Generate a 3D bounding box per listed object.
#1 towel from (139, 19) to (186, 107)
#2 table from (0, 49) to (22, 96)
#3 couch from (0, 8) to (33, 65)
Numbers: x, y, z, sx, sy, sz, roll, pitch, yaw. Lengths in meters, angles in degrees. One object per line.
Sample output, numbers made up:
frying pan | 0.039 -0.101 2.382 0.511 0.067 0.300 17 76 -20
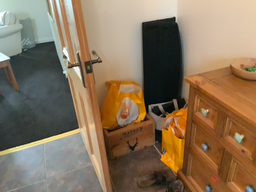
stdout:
towel | 0.310 -0.290 1.910 0.350 0.710 0.170 -13 28 -17
table | -1.790 -0.330 2.990 0.400 0.440 0.480 -17 36 -16
couch | -2.590 -1.170 4.180 1.080 0.850 1.000 -11 31 -14
